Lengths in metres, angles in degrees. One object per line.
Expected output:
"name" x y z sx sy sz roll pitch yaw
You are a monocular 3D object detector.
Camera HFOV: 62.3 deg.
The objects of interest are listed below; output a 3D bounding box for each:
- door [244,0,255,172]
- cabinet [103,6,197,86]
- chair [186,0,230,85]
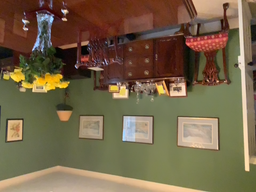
"door" 1.440 -0.230 2.460 0.050 1.980 0.820 -2 175 34
"cabinet" 0.330 -0.690 3.340 1.350 0.930 0.570 -2 175 30
"chair" 1.110 -0.680 2.910 0.480 0.990 0.530 -2 175 30
